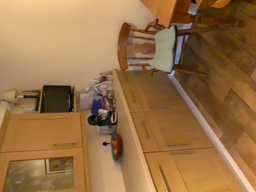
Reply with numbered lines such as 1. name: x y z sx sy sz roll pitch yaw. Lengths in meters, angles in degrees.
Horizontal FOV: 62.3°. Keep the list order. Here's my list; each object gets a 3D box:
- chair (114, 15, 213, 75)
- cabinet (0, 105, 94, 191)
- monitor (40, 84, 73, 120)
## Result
1. chair: 0.360 -0.550 2.400 0.600 0.880 0.530 -143 55 -68
2. cabinet: -0.770 0.730 1.870 1.550 0.850 0.340 -111 26 -48
3. monitor: -0.880 0.060 2.630 0.030 0.370 0.480 115 149 -55
